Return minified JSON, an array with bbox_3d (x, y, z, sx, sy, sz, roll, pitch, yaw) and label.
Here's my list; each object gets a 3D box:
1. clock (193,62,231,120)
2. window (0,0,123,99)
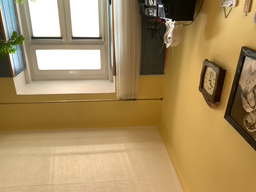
[{"bbox_3d":[0.610,-0.050,1.590,0.060,0.320,0.340,-2,-155,-8],"label":"clock"},{"bbox_3d":[-0.830,-1.200,2.760,1.480,2.400,0.620,-1,-155,-6],"label":"window"}]
